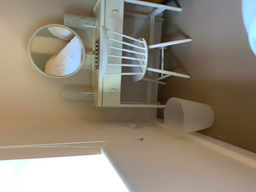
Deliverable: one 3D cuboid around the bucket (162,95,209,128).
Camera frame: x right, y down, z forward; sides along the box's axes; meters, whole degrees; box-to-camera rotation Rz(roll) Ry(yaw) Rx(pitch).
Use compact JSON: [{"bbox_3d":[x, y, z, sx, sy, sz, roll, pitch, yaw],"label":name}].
[{"bbox_3d":[0.460,0.120,1.720,0.210,0.290,0.240,-175,87,-69],"label":"bucket"}]
